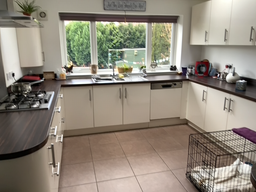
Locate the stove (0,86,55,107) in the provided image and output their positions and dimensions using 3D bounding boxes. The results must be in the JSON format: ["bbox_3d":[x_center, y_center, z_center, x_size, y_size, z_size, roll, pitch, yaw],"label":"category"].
[{"bbox_3d":[-1.130,-0.010,2.350,0.560,0.040,0.730,-3,15,-14],"label":"stove"}]

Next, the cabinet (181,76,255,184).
[{"bbox_3d":[1.610,0.410,2.790,0.590,0.930,2.530,-3,15,-14],"label":"cabinet"}]

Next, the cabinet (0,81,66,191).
[{"bbox_3d":[-1.070,0.500,2.320,0.630,0.940,2.100,-3,15,-14],"label":"cabinet"}]
